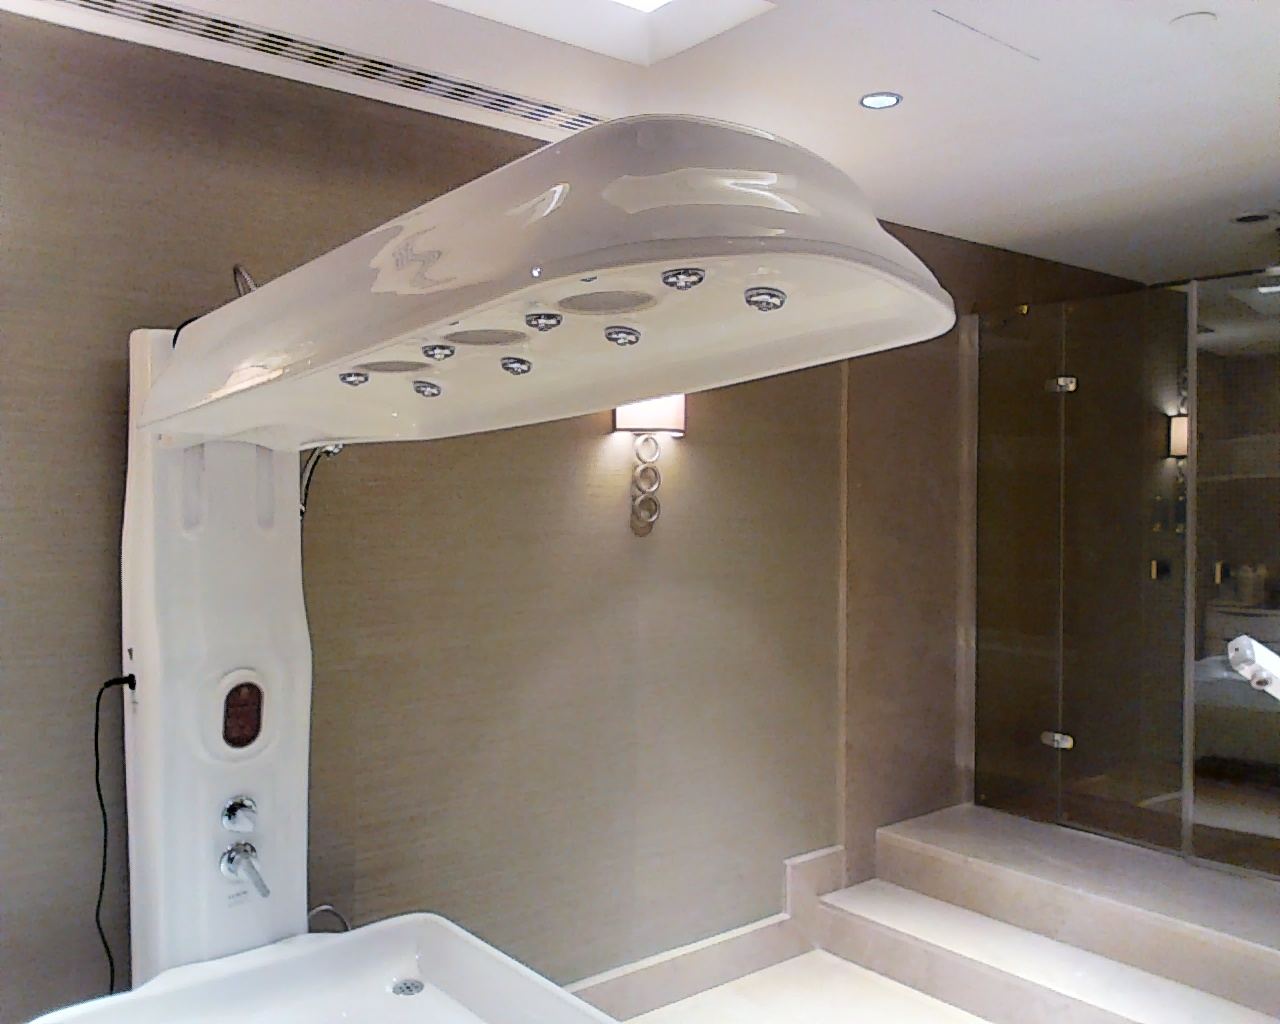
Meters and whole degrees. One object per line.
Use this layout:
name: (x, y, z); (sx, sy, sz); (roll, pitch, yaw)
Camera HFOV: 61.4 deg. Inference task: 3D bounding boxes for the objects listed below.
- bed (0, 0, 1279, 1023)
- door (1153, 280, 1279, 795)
bed: (-0.260, 0.590, 1.610); (1.010, 2.000, 2.220); (0, 0, -40)
door: (2.929, 0.110, 4.380); (0.080, 2.190, 1.650); (0, 0, -38)
